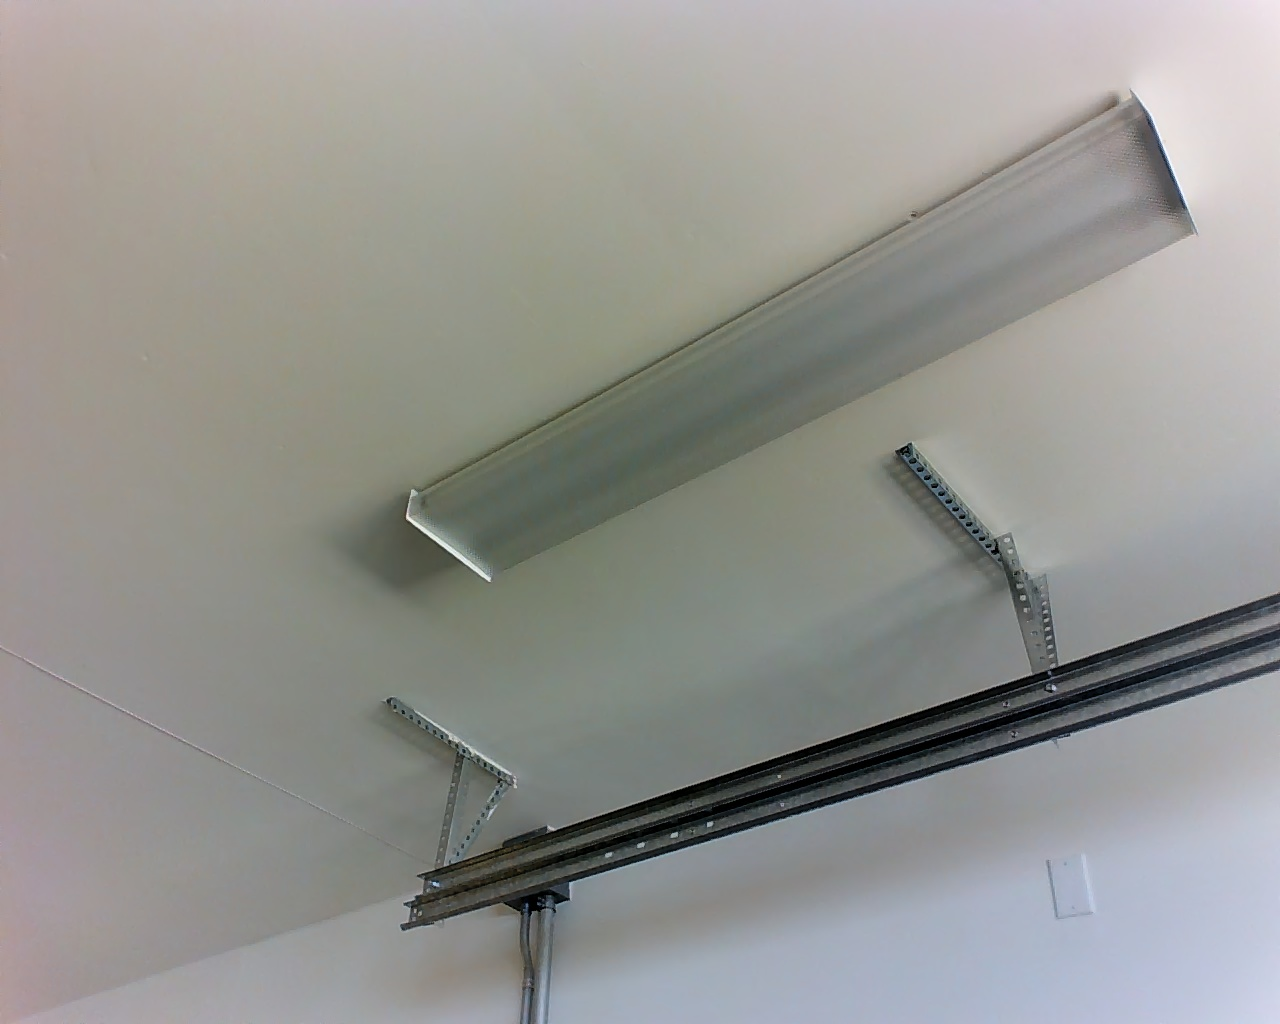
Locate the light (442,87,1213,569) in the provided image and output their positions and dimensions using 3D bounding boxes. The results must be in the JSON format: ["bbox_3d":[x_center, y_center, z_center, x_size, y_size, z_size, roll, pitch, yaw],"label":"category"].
[{"bbox_3d":[0.210,-0.210,1.640,1.190,0.060,0.220,-26,-48,27],"label":"light"}]
